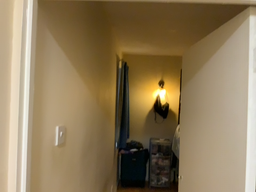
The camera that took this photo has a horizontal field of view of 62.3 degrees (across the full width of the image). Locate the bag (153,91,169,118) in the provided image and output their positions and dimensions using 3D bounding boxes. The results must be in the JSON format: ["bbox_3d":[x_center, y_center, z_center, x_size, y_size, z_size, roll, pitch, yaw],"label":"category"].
[{"bbox_3d":[0.650,0.160,4.140,0.280,0.500,0.150,2,0,3],"label":"bag"}]
